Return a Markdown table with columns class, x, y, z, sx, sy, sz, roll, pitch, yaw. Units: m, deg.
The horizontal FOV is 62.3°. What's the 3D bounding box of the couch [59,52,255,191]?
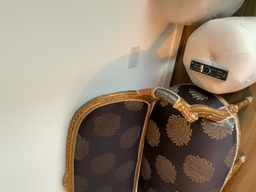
| class | x | y | z | sx | sy | sz | roll | pitch | yaw |
| --- | --- | --- | --- | --- | --- | --- | --- | --- | --- |
| couch | 0.170 | 0.640 | 1.590 | 0.810 | 1.000 | 1.620 | 35 | 129 | 39 |
